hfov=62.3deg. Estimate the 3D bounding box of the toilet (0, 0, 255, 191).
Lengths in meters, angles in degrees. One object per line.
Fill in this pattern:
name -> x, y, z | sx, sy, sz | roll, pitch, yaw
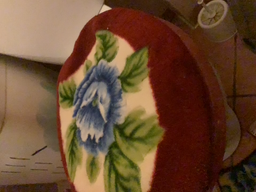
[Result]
toilet -> -0.060, -0.070, 0.530 | 0.380, 0.780, 0.740 | -50, 45, 21
